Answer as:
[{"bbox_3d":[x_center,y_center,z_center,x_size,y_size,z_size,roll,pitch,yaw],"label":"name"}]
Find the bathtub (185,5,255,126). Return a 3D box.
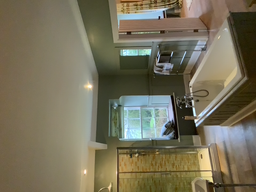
[{"bbox_3d":[1.440,-0.260,3.150,1.890,0.610,0.950,88,180,-68],"label":"bathtub"}]
